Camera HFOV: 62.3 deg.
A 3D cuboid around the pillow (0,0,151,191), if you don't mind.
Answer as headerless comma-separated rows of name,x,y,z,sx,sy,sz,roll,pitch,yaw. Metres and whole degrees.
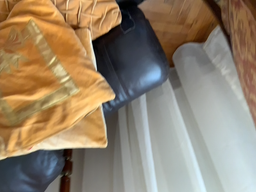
pillow,-0.300,-0.030,0.660,0.460,0.580,0.250,-31,-179,24
